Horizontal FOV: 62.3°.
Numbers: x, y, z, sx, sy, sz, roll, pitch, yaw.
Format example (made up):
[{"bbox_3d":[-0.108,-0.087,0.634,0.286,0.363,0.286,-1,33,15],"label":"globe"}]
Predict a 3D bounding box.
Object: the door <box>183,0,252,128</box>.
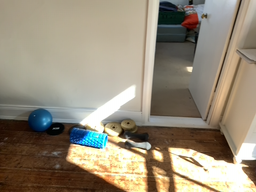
[{"bbox_3d":[0.840,-0.590,2.140,0.130,1.710,0.850,1,36,1],"label":"door"}]
